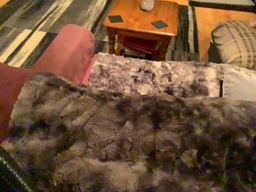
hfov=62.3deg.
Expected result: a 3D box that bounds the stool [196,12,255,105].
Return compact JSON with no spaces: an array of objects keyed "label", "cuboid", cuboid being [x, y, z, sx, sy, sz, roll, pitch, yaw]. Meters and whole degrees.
[{"label":"stool","cuboid":[1.030,-0.320,1.820,0.670,0.470,0.620,5,47,0]}]
